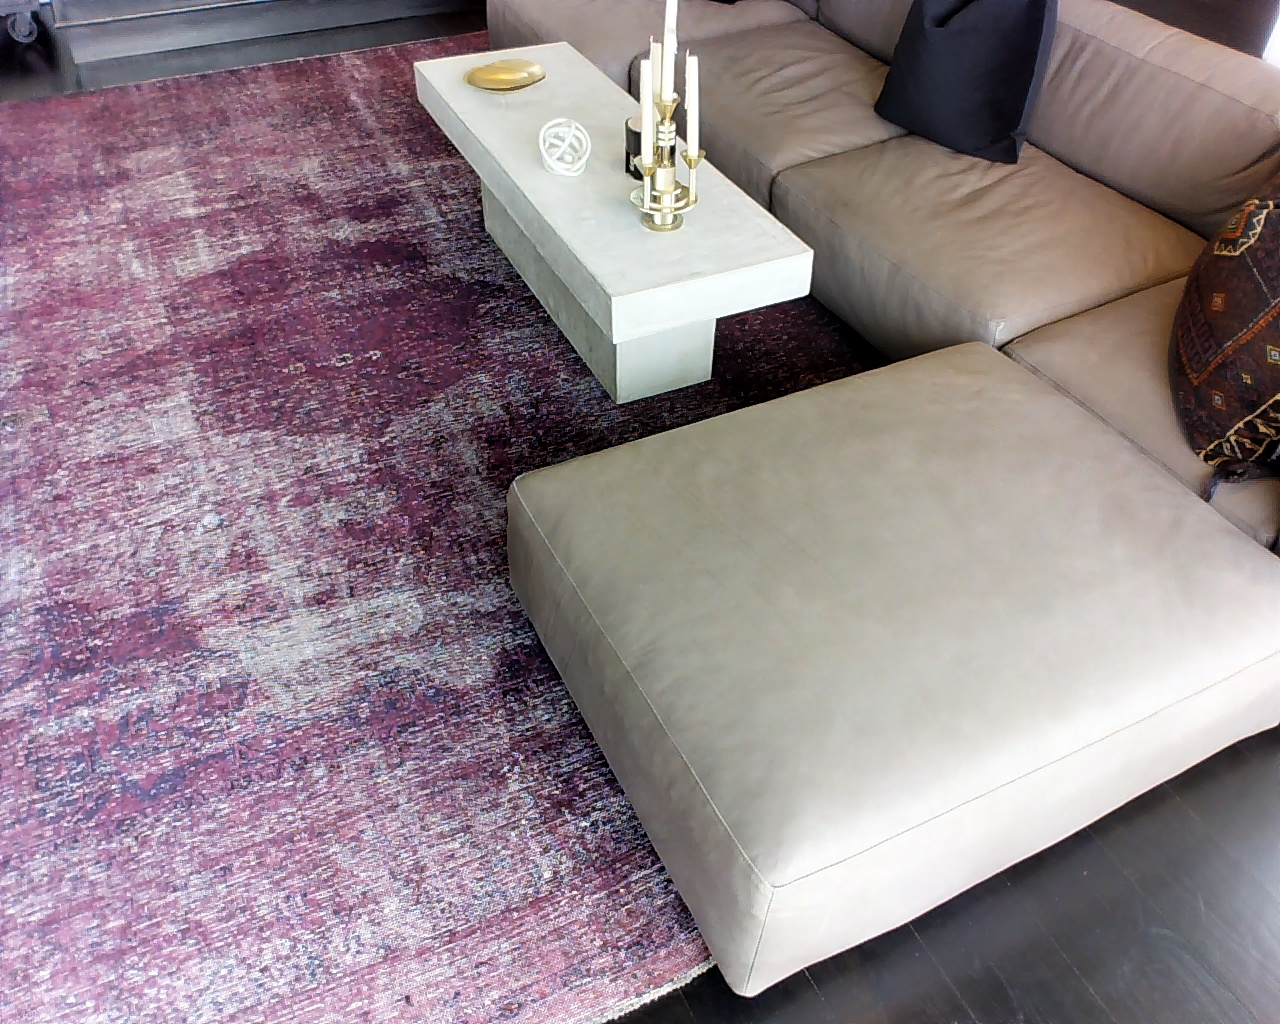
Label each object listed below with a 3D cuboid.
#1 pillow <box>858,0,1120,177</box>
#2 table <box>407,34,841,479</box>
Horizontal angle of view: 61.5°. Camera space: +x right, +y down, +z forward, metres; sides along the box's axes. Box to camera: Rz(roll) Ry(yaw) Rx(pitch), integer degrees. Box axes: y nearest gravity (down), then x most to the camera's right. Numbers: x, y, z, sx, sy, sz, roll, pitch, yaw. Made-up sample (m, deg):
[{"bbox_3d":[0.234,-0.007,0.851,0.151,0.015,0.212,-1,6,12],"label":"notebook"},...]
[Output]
[{"bbox_3d":[0.880,-1.240,2.810,0.310,0.460,0.470,-16,61,-18],"label":"pillow"},{"bbox_3d":[-0.120,-0.750,2.800,0.510,0.460,1.430,-18,45,-19],"label":"table"}]
